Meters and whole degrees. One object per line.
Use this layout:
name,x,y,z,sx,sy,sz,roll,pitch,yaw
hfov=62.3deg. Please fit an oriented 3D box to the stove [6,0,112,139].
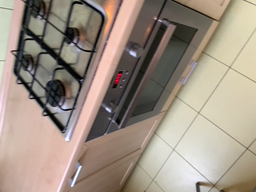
stove,-0.310,-0.210,0.800,0.490,0.020,0.570,41,120,27
